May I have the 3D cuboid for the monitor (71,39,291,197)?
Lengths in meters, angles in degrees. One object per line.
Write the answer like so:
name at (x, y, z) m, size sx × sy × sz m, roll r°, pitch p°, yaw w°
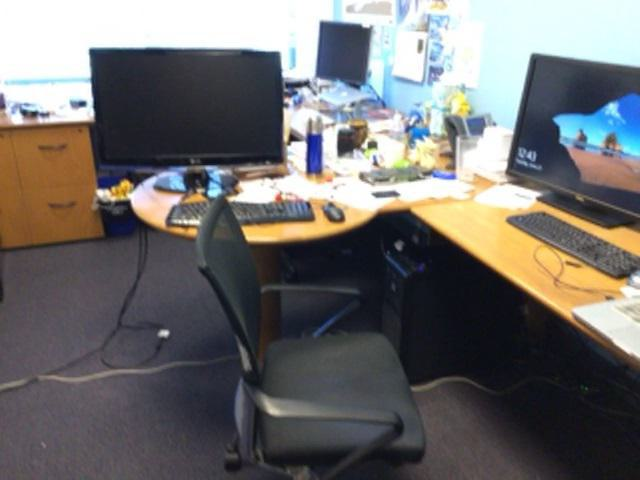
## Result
monitor at (-0.450, -0.430, 2.000) m, size 0.670 × 0.490 × 0.190 m, roll -4°, pitch 23°, yaw -10°

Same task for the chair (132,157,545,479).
chair at (0.000, 0.330, 1.450) m, size 0.720 × 0.920 × 0.620 m, roll -3°, pitch 23°, yaw -8°
